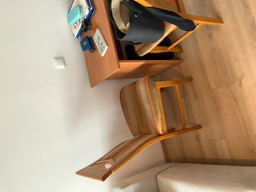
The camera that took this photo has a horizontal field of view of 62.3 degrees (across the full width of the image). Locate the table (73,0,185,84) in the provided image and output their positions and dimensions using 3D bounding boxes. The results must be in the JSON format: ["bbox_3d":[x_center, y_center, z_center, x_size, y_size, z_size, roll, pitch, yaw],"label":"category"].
[{"bbox_3d":[0.000,-0.440,1.820,0.510,0.710,0.500,-22,78,53],"label":"table"}]
